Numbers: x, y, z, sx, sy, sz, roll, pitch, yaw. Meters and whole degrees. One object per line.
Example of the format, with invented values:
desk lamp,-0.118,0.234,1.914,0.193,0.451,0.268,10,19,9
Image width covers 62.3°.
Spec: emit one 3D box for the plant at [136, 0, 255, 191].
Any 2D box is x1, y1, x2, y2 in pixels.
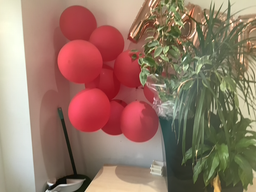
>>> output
plant,0.340,0.050,1.130,0.520,0.950,0.410,1,9,13
